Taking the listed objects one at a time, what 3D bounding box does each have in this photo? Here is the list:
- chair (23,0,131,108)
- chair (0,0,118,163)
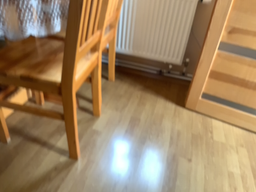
[{"bbox_3d":[-0.290,-0.450,1.410,0.520,0.890,0.450,10,35,6],"label":"chair"},{"bbox_3d":[-0.370,-0.200,1.030,0.520,0.900,0.460,10,35,6],"label":"chair"}]
